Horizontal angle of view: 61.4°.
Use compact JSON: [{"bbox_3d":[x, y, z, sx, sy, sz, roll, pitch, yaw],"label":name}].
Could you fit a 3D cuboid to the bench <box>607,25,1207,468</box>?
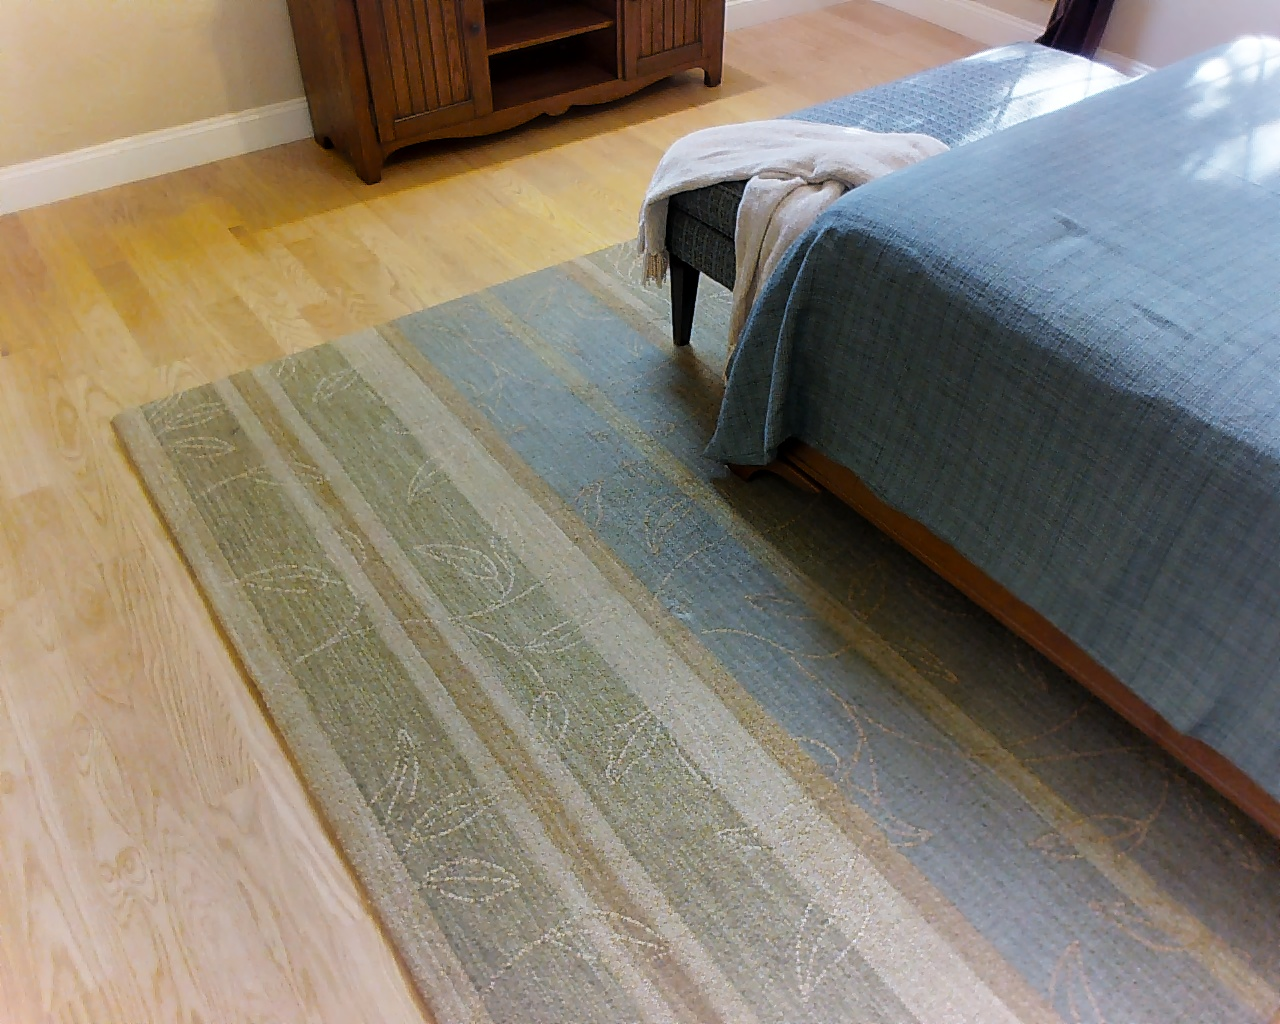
[{"bbox_3d":[0.670,-0.740,2.760,1.420,0.560,0.580,-25,48,-25],"label":"bench"}]
